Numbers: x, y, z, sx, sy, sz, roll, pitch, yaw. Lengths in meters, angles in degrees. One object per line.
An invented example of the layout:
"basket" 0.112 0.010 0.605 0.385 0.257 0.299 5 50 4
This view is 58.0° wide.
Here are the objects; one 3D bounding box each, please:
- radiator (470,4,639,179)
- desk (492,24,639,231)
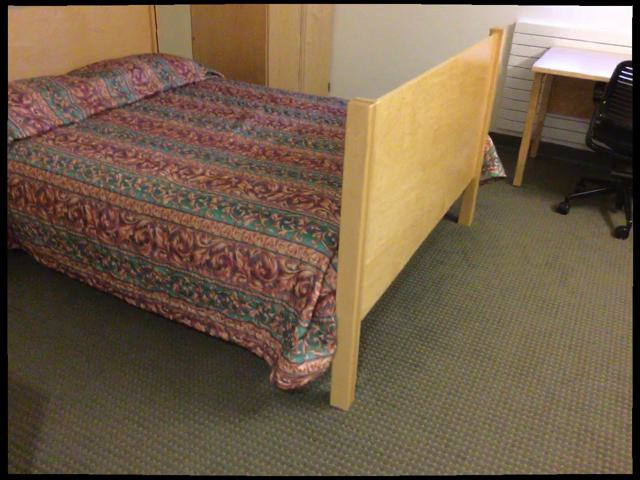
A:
"radiator" 2.006 -0.882 3.620 1.947 0.931 0.230 16 33 23
"desk" 1.856 -0.651 3.320 1.368 0.861 0.910 16 33 23
